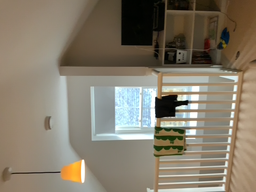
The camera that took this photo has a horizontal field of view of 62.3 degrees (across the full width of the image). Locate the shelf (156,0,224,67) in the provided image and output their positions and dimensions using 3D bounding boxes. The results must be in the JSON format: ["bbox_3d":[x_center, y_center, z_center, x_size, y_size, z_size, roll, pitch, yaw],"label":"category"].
[{"bbox_3d":[0.850,-1.490,2.900,0.390,0.790,2.130,-113,23,-77],"label":"shelf"}]
